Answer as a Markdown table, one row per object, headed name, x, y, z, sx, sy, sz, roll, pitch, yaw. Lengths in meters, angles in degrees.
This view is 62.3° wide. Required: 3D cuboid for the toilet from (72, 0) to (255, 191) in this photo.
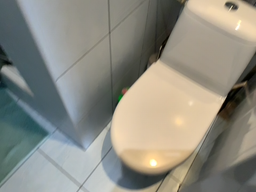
| name | x | y | z | sx | sy | sz | roll | pitch | yaw |
| --- | --- | --- | --- | --- | --- | --- | --- | --- | --- |
| toilet | 0.180 | 0.040 | 0.960 | 0.380 | 0.780 | 0.640 | 33 | 64 | 15 |
